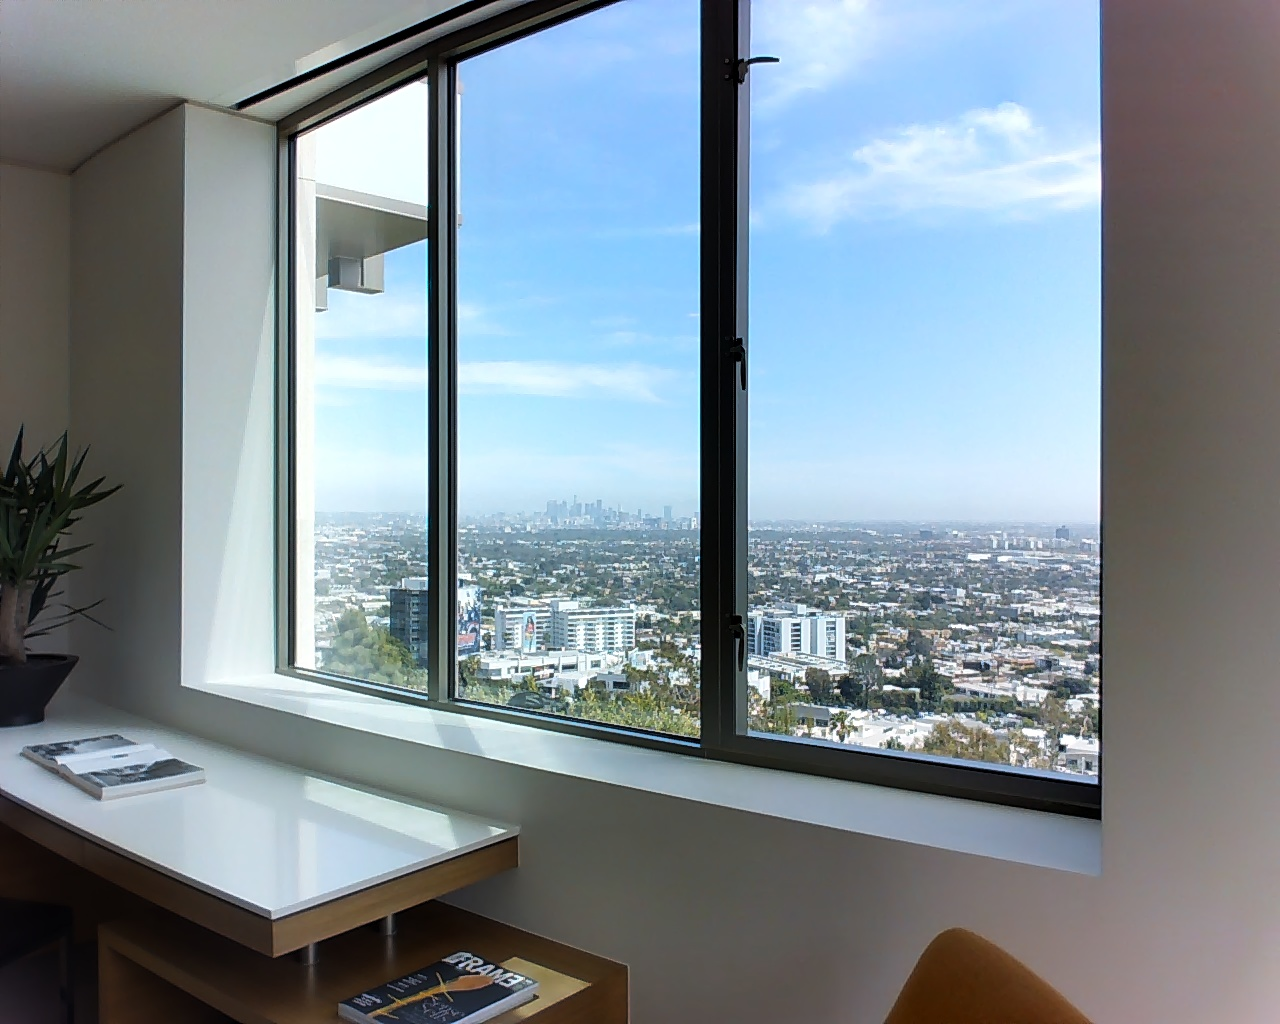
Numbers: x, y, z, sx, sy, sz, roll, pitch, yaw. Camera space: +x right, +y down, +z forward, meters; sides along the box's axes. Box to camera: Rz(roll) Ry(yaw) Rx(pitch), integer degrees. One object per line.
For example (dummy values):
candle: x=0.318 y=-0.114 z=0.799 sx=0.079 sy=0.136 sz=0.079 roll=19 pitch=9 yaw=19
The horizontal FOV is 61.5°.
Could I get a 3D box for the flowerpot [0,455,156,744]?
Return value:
flowerpot: x=-2.010 y=0.270 z=3.640 sx=0.530 sy=0.890 sz=0.530 roll=0 pitch=0 yaw=-44
